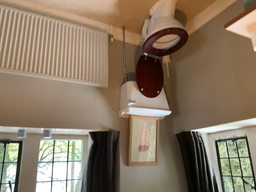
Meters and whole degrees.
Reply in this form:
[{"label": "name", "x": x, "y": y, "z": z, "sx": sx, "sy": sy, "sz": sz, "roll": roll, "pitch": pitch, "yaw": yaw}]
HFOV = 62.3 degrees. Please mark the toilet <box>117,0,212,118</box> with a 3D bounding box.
[{"label": "toilet", "x": 0.280, "y": -0.350, "z": 2.050, "sx": 0.520, "sy": 0.970, "sz": 0.680, "roll": 7, "pitch": 161, "yaw": -27}]
